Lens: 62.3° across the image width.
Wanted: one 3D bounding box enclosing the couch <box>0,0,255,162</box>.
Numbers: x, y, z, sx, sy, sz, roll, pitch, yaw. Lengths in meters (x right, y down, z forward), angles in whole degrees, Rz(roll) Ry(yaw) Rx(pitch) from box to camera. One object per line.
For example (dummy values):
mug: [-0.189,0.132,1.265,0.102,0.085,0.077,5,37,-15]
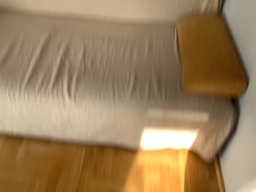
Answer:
couch: [-0.420,-0.330,1.440,2.100,0.840,1.040,6,49,1]
